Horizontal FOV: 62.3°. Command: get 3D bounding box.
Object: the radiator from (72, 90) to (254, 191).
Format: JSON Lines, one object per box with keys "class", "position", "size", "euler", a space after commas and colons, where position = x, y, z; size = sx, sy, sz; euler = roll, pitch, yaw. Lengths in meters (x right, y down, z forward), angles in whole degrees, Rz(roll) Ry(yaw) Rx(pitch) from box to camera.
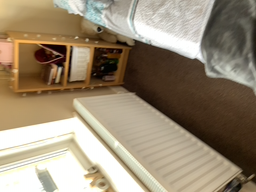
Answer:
{"class": "radiator", "position": [0.180, 0.280, 1.500], "size": [1.110, 0.690, 0.130], "euler": [36, 121, 40]}
